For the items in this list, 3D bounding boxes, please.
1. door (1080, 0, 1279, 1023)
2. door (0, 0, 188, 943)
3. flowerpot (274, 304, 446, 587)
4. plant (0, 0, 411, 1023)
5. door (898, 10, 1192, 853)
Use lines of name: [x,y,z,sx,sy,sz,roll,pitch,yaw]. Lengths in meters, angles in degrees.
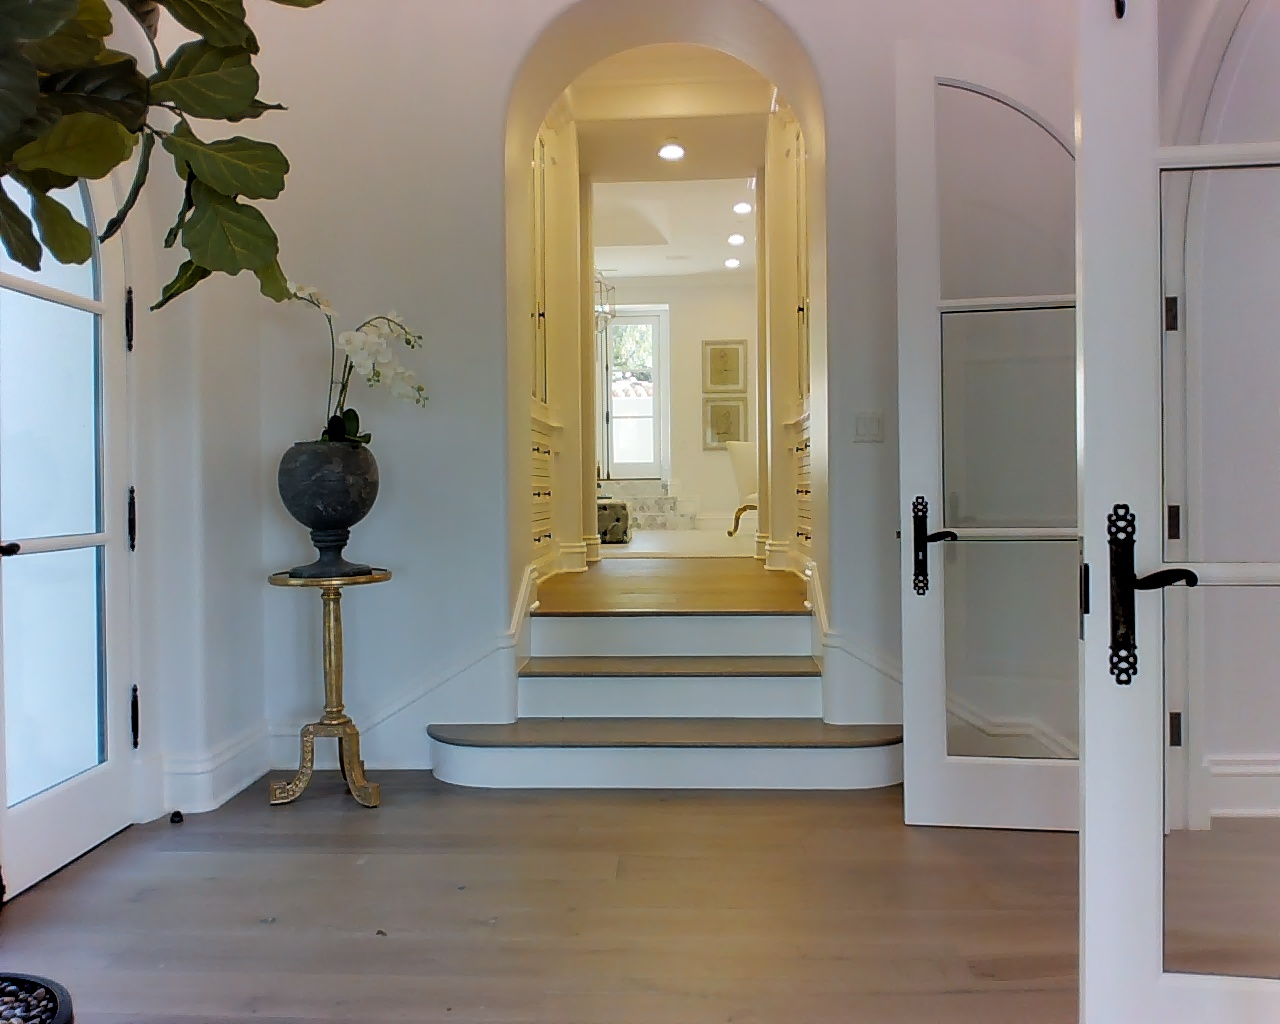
door: [1.160,-0.190,1.760,0.800,2.441,0.120,0,0,8]
door: [-1.619,-0.250,2.650,0.120,2.591,1.830,0,0,3]
flowerpot: [-0.940,-0.210,3.620,0.440,0.890,0.340,0,0,25]
plant: [-0.990,-0.060,1.610,1.040,2.261,0.960,0,0,2]
door: [1.220,-0.230,3.280,0.820,2.461,0.140,0,0,11]
